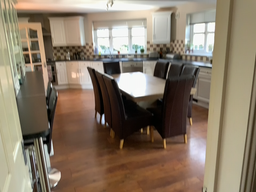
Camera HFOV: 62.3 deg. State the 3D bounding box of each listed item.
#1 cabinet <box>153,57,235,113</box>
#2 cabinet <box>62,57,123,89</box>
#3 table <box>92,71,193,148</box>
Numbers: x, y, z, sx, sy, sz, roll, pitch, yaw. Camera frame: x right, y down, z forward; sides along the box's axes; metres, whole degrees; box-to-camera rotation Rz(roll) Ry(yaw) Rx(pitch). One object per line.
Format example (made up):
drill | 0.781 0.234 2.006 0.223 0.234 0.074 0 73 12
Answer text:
cabinet | 1.410 -0.400 5.140 0.570 0.910 2.190 -9 17 -23
cabinet | -1.100 -0.740 6.670 1.730 0.900 0.600 1 16 12
table | 0.100 0.070 3.910 1.010 0.730 2.020 -8 17 -22
